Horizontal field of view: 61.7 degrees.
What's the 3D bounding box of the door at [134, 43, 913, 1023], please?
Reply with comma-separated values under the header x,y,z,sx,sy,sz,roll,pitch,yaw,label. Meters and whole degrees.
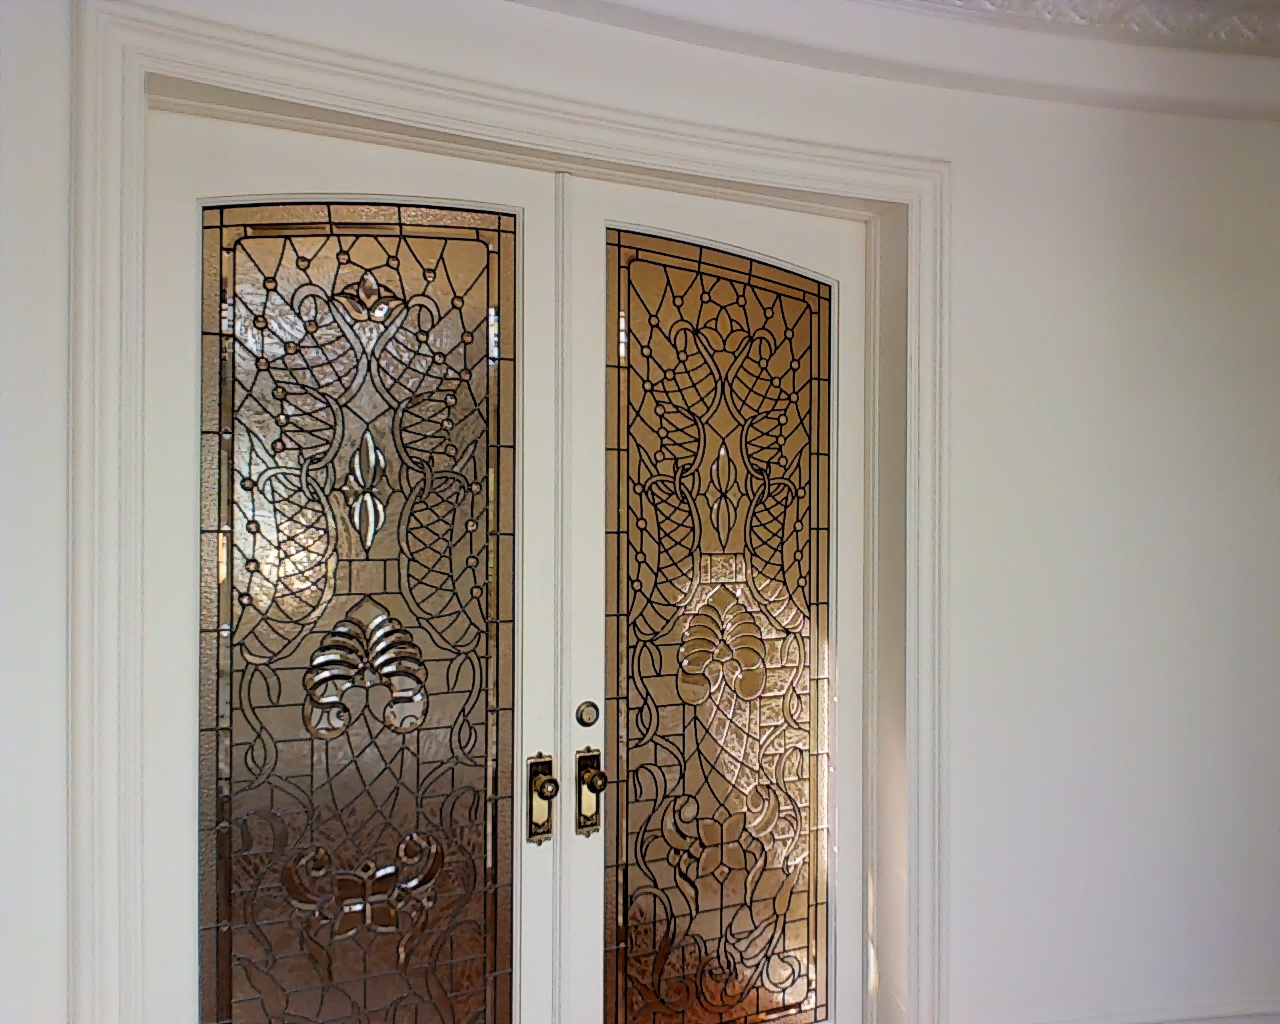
x,y,z,sx,sy,sz,roll,pitch,yaw,label
-0.140,0.370,2.490,1.850,2.431,0.230,1,-1,-29,door
